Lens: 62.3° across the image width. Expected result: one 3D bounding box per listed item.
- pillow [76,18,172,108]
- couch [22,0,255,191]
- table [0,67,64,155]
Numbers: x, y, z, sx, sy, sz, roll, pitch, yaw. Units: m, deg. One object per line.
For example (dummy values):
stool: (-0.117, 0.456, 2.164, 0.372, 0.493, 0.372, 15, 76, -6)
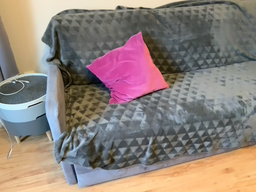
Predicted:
pillow: (-0.020, -0.180, 1.340, 0.400, 0.390, 0.240, 18, 28, -47)
couch: (0.560, -0.200, 1.590, 2.180, 0.840, 1.000, -9, 36, -13)
table: (-0.710, 0.090, 1.550, 0.400, 0.400, 0.440, -7, 36, -10)
